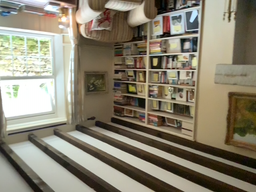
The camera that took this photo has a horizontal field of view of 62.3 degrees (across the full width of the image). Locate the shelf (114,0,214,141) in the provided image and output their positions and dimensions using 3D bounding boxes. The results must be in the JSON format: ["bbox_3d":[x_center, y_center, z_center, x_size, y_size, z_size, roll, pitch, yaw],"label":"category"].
[{"bbox_3d":[0.460,-0.630,3.580,0.310,2.320,1.750,-6,-169,-43],"label":"shelf"}]
